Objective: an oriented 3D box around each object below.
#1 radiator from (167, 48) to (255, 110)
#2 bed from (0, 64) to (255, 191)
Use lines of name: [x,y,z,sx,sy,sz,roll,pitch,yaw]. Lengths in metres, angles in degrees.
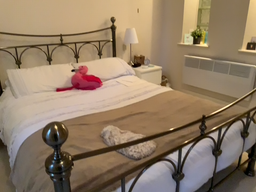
radiator: [1.080,-0.300,3.000,0.140,0.590,1.290,-15,25,-33]
bed: [-0.190,0.240,2.050,1.590,0.530,2.130,-16,25,-34]
